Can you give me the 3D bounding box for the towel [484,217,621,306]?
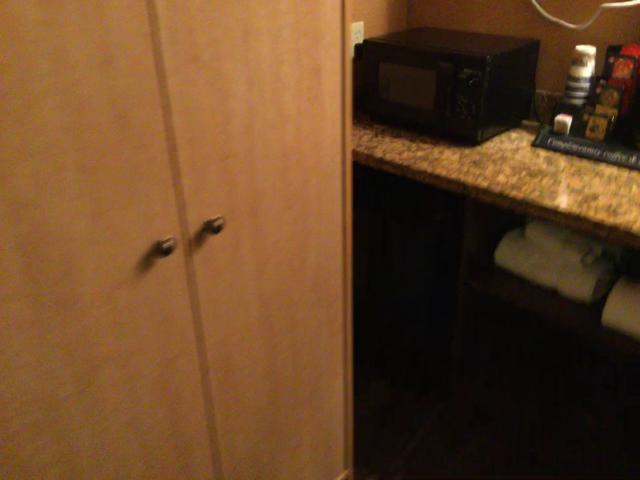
[{"bbox_3d":[0.660,0.050,1.650,0.290,0.110,0.220,20,29,36],"label":"towel"}]
